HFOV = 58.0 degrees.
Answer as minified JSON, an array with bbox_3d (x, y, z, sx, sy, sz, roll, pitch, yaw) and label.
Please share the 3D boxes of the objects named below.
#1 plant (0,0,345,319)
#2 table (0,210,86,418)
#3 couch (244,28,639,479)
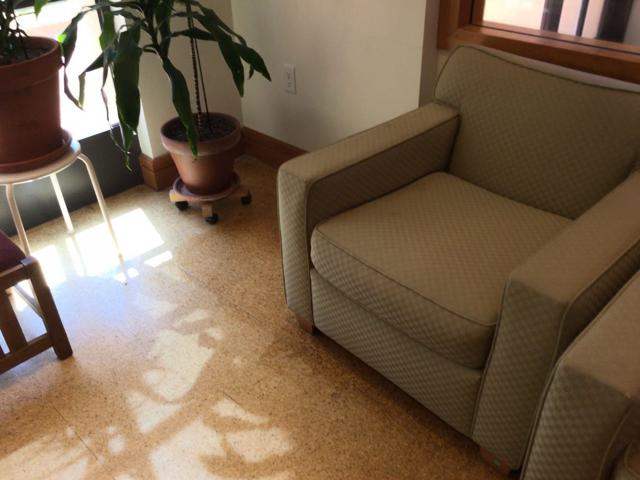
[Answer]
[{"bbox_3d":[-0.510,-0.780,1.860,0.960,1.720,0.670,26,42,37],"label":"plant"},{"bbox_3d":[-1.040,0.200,1.670,0.500,0.440,0.410,26,42,37],"label":"table"},{"bbox_3d":[0.460,-0.040,1.610,0.890,0.780,0.930,-26,39,-33],"label":"couch"}]
